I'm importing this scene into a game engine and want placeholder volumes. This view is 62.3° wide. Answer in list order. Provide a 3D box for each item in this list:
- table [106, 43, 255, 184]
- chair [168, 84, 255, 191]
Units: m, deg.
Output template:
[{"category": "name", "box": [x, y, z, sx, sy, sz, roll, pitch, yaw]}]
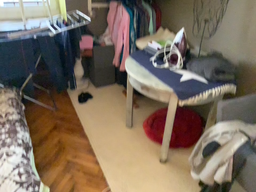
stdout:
[{"category": "table", "box": [0.390, 0.060, 2.010, 0.920, 0.780, 0.890, -13, 36, -24]}, {"category": "chair", "box": [0.870, 0.500, 1.390, 0.730, 0.750, 0.850, -13, 36, -24]}]
